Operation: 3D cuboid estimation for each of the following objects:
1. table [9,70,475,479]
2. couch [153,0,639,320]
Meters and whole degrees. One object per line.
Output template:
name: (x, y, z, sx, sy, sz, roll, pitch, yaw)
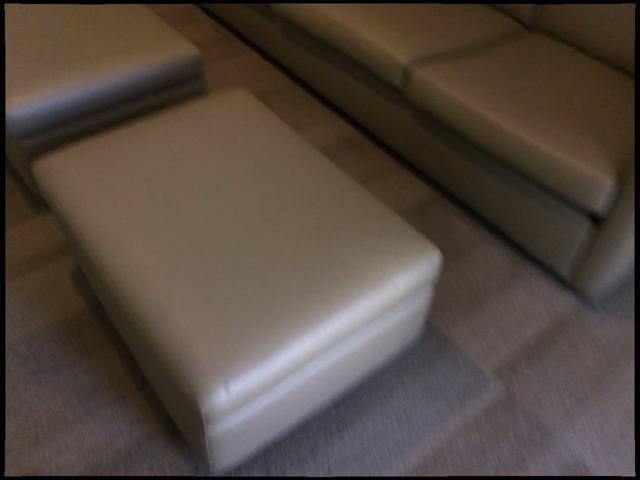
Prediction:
table: (-0.200, 0.040, 1.440, 0.689, 0.390, 0.820, -31, 57, -29)
couch: (0.369, -0.902, 2.160, 0.999, 0.711, 2.270, -31, 58, -29)
